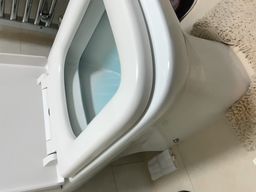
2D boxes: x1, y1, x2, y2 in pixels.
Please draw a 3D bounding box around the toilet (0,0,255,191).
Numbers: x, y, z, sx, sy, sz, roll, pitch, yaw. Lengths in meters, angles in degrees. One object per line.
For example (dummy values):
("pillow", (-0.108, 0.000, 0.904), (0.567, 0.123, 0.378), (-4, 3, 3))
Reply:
("toilet", (-0.140, -0.010, 0.520), (0.630, 0.810, 0.410), (-47, 51, 45))
